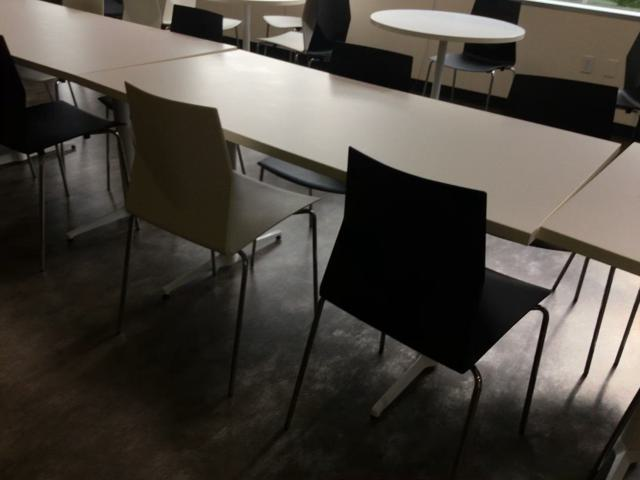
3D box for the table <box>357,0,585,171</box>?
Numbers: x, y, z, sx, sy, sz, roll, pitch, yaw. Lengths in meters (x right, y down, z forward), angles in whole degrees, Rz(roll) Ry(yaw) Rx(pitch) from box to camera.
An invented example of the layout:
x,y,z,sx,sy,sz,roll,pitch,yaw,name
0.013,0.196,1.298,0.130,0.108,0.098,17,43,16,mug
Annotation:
x,y,z,sx,sy,sz,roll,pitch,yaw,name
0.900,-1.060,3.560,0.920,0.800,0.930,25,38,35,table
